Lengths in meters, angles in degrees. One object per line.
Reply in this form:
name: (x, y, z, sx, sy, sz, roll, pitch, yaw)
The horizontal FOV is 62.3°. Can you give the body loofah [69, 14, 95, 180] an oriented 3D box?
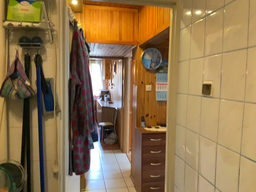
body loofah: (-0.340, 0.010, 1.580, 0.160, 1.110, 0.310, 1, 4, -11)
